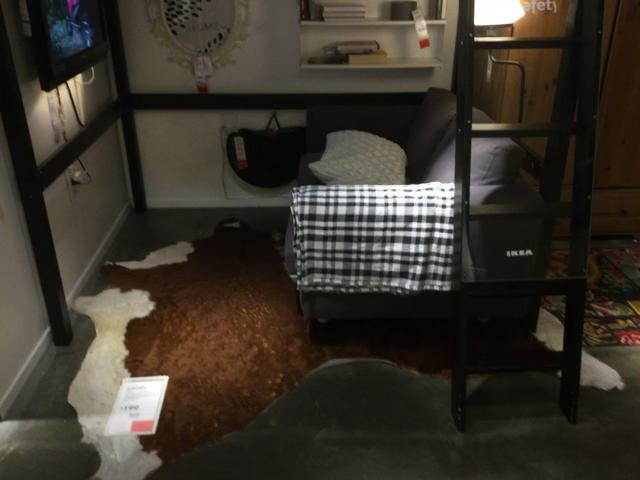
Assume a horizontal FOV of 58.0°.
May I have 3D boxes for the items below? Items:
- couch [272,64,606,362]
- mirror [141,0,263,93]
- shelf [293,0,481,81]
[{"bbox_3d":[0.370,-0.280,2.690,1.020,0.700,1.710,-3,27,1],"label":"couch"},{"bbox_3d":[-0.650,-1.260,3.120,0.600,0.890,0.050,-3,27,1],"label":"mirror"},{"bbox_3d":[0.330,-1.240,3.000,0.930,0.710,0.310,-3,27,1],"label":"shelf"}]
